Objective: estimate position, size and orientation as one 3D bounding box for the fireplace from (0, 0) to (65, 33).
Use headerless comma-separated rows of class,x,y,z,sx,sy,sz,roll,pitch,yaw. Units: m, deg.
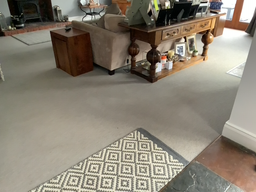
fireplace,-2.820,-2.530,5.740,1.880,1.210,0.720,-27,39,-37
